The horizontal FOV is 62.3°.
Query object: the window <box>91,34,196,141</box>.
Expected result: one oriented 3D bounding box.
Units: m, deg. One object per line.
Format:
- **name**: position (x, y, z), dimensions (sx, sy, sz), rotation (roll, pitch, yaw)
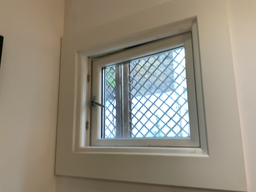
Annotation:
- **window**: position (0.070, -0.030, 1.600), dimensions (0.800, 0.720, 0.060), rotation (-6, -12, 27)
